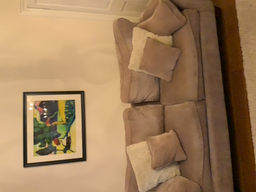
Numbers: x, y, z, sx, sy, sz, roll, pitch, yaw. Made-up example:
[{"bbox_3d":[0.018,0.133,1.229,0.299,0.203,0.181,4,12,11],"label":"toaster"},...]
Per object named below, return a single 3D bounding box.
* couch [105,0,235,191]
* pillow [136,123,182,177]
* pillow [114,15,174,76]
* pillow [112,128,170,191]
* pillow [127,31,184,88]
[{"bbox_3d":[0.340,0.080,2.440,1.130,0.940,2.330,161,108,-72],"label":"couch"},{"bbox_3d":[0.320,0.540,2.130,0.140,0.390,0.350,-46,12,43],"label":"pillow"},{"bbox_3d":[0.170,-0.540,2.290,0.440,0.440,0.170,-40,4,-12],"label":"pillow"},{"bbox_3d":[0.160,0.670,2.200,0.170,0.430,0.530,-35,4,39],"label":"pillow"},{"bbox_3d":[0.280,-0.370,2.200,0.400,0.410,0.150,-50,11,32],"label":"pillow"}]
